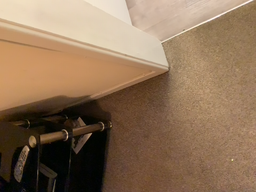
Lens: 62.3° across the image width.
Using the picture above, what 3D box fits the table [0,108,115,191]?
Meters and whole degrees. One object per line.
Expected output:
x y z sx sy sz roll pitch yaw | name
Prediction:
-0.470 0.620 1.260 0.370 0.540 1.000 15 98 31 | table
